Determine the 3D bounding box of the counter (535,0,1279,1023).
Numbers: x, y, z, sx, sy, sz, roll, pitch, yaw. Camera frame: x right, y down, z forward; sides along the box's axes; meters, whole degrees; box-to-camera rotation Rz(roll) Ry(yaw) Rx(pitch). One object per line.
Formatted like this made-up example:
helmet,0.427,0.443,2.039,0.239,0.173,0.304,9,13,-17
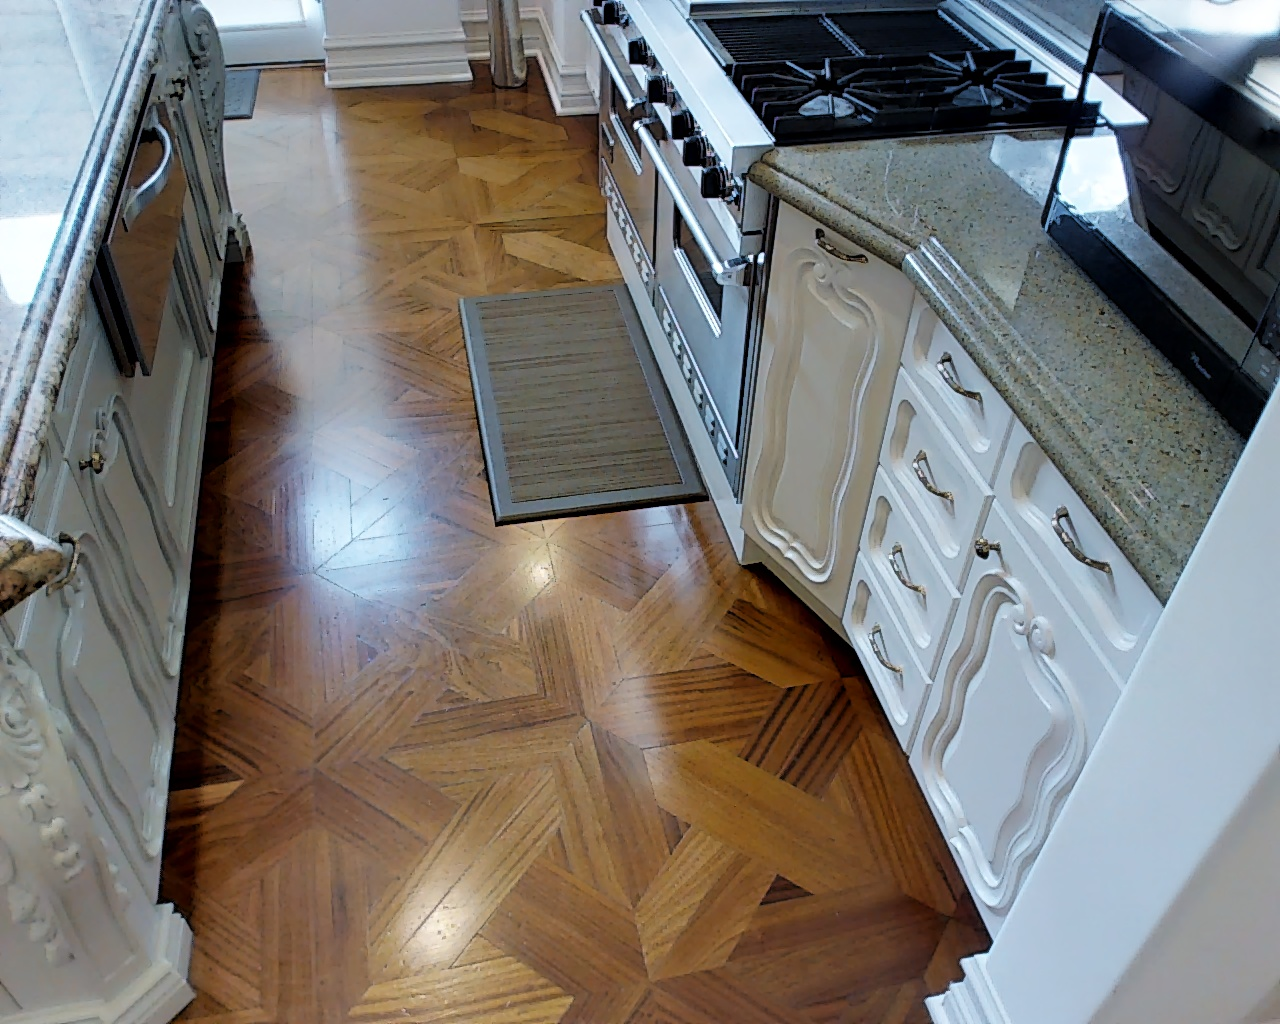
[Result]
counter,0.360,-0.770,2.660,0.790,0.960,3.540,-7,43,-10
